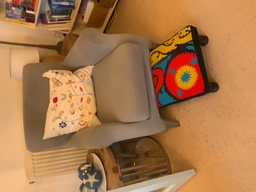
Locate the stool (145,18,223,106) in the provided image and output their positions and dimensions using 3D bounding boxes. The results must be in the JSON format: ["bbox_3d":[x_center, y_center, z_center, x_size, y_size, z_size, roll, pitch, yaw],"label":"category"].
[{"bbox_3d":[0.340,-0.190,1.380,0.360,0.230,0.440,-24,70,53],"label":"stool"}]

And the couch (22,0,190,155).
[{"bbox_3d":[-0.260,-0.010,1.680,1.000,0.900,0.780,-20,73,54],"label":"couch"}]
